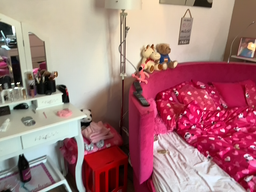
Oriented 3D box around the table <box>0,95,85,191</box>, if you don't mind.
[{"bbox_3d":[-0.810,0.500,1.550,0.840,0.760,0.480,-12,26,-33],"label":"table"}]
